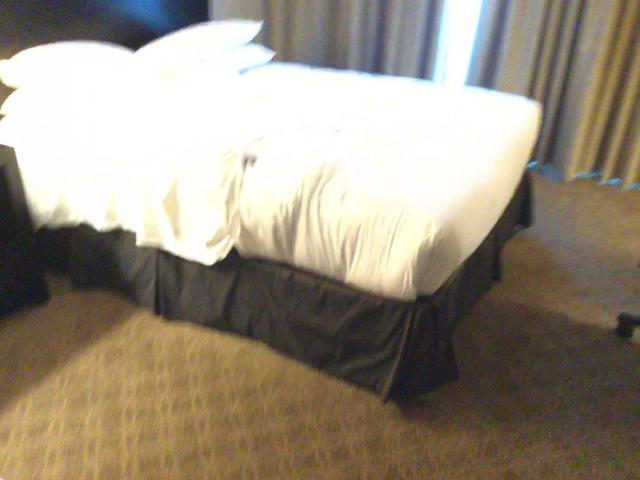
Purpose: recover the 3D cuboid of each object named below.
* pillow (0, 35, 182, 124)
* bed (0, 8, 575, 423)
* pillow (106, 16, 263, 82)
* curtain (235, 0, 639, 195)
[{"bbox_3d":[-0.990,-0.730,2.550,0.430,0.250,0.610,13,28,24],"label":"pillow"},{"bbox_3d":[-0.160,-0.410,2.610,2.110,1.010,1.550,13,28,24],"label":"bed"},{"bbox_3d":[-0.670,-0.990,2.950,0.520,0.220,0.570,13,28,24],"label":"pillow"},{"bbox_3d":[0.830,-1.320,3.430,2.880,1.630,0.500,14,29,24],"label":"curtain"}]
